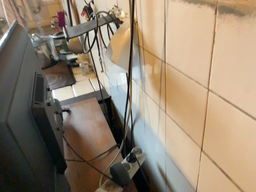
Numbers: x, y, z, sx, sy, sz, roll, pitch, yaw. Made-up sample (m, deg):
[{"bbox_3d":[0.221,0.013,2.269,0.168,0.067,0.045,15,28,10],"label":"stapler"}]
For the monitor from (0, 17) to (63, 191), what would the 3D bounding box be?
[{"bbox_3d":[-0.310,0.050,0.710,0.060,0.460,0.710,-13,34,-13],"label":"monitor"}]
